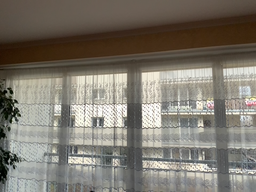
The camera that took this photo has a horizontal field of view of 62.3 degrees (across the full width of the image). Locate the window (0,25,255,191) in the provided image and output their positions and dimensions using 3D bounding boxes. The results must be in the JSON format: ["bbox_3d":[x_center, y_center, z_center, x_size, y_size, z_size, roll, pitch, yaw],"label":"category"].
[{"bbox_3d":[0.010,0.410,2.290,3.520,2.050,0.250,-2,-8,15],"label":"window"}]
